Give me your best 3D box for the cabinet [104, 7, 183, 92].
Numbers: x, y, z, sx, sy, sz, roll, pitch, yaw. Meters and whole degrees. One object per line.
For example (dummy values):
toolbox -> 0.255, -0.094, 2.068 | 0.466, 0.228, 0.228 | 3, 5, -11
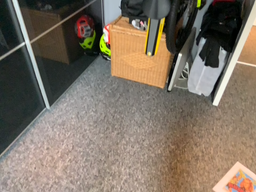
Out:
cabinet -> 0.140, -0.450, 2.000 | 0.570, 0.530, 0.470 | 15, 43, 13
